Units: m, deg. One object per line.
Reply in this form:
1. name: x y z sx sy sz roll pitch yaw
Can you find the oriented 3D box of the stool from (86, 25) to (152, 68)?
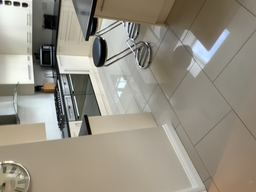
1. stool: -0.130 -0.630 2.770 0.360 0.710 0.360 65 146 37
